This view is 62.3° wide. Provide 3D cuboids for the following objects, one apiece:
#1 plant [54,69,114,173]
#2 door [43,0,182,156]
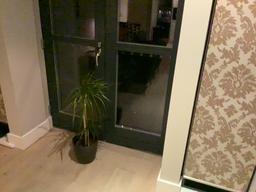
[{"bbox_3d":[-0.400,0.230,2.040,0.360,0.850,0.380,14,25,23],"label":"plant"},{"bbox_3d":[-0.210,-0.600,2.080,1.330,2.390,0.150,12,24,18],"label":"door"}]
